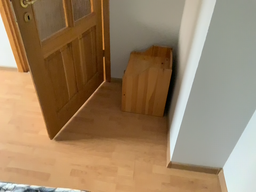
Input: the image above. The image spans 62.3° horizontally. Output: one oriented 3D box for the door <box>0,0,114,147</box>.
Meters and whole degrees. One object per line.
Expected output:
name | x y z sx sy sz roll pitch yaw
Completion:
door | -0.410 -0.710 1.500 0.160 2.100 1.050 18 41 17
